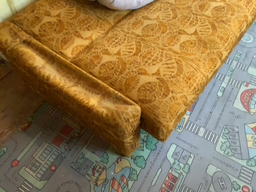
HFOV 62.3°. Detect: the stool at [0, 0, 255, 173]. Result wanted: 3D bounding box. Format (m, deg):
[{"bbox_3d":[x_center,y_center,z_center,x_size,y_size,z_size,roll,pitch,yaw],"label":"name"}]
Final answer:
[{"bbox_3d":[0.330,-0.720,1.510,1.000,0.470,2.200,34,65,20],"label":"stool"}]
